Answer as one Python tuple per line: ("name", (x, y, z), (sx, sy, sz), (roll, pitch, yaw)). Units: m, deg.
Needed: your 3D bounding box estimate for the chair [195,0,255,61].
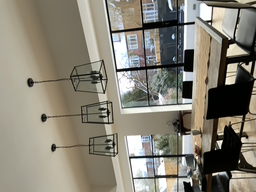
("chair", (1.120, -0.650, 1.980), (0.420, 0.840, 0.450), (-86, -10, -58))
